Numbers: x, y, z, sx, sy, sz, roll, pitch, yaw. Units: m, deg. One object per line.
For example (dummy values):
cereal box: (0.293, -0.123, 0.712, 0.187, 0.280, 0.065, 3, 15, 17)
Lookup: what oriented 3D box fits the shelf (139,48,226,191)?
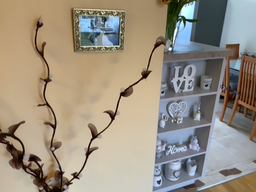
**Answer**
shelf: (0.400, 0.230, 1.710, 0.550, 1.170, 0.170, -8, 24, -21)
